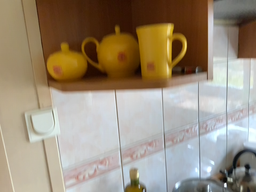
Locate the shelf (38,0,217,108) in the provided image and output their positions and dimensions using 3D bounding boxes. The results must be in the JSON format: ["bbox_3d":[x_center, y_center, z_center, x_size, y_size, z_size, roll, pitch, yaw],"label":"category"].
[{"bbox_3d":[-0.030,-0.380,0.460,0.300,0.720,0.300,-12,15,-32],"label":"shelf"}]
